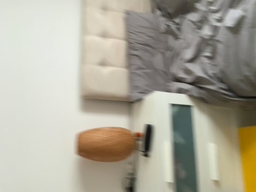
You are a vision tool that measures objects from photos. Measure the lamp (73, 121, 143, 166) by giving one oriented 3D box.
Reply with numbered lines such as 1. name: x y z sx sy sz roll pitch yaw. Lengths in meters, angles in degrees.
1. lamp: -0.130 0.310 1.370 0.210 0.400 0.250 143 129 -66

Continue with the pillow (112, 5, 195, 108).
1. pillow: 0.180 -0.300 1.520 0.140 0.360 0.680 -31 77 61
